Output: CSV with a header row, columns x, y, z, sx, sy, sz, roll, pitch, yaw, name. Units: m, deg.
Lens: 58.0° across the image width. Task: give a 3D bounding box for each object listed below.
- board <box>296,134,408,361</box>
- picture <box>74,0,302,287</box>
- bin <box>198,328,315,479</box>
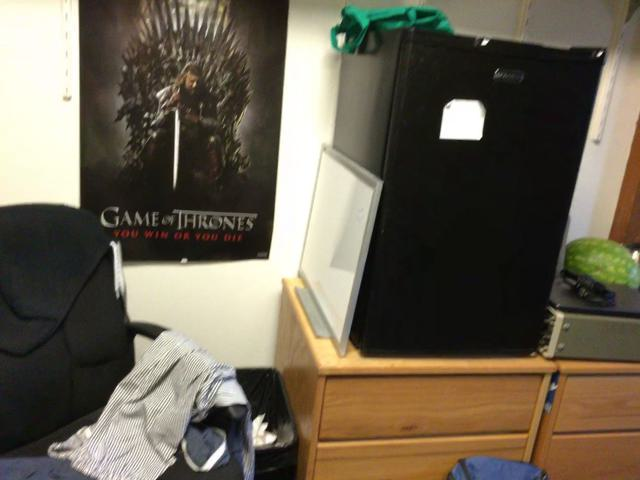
x,y,z,sx,sy,sz,roll,pitch,yaw,name
0.060,-0.020,1.700,0.100,0.500,0.630,3,16,-14,board
-0.410,-0.380,1.780,0.640,1.090,0.040,3,16,-14,picture
-0.220,0.610,1.770,0.260,0.520,0.480,3,16,-14,bin
